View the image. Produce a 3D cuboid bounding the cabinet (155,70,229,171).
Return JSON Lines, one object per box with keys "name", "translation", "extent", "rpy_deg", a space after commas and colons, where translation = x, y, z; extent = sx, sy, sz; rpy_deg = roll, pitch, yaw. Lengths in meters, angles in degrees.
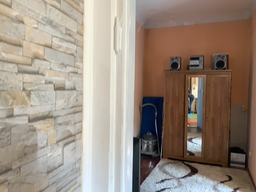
{"name": "cabinet", "translation": [1.330, 0.440, 4.490], "extent": [1.300, 1.890, 0.630], "rpy_deg": [3, 3, 19]}
